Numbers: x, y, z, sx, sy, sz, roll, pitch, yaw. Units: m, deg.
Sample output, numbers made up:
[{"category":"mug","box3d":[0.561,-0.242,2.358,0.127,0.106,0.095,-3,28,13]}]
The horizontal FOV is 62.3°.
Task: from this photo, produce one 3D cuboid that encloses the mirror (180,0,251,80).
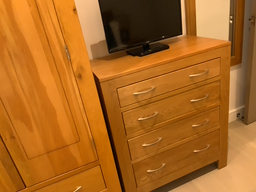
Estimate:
[{"category":"mirror","box3d":[0.700,-0.850,1.660,0.630,1.380,0.060,-16,26,-13]}]
